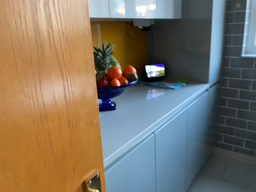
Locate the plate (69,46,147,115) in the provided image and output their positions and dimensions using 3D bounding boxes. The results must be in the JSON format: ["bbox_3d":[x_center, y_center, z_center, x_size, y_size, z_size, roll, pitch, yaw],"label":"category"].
[{"bbox_3d":[-0.120,-0.140,1.460,0.320,0.370,0.400,12,22,40],"label":"plate"}]
